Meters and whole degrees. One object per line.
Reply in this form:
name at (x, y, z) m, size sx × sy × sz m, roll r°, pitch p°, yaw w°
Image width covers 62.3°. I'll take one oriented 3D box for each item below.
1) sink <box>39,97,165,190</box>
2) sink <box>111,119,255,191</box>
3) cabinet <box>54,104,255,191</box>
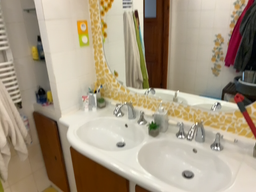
sink at (-0.170, 0.250, 1.440) m, size 0.650 × 0.190 × 0.520 m, roll 15°, pitch 28°, yaw 36°
sink at (0.330, 0.390, 1.070) m, size 0.640 × 0.190 × 0.510 m, roll 15°, pitch 28°, yaw 36°
cabinet at (0.120, 0.640, 1.430) m, size 1.290 × 0.810 × 0.410 m, roll 15°, pitch 28°, yaw 36°
